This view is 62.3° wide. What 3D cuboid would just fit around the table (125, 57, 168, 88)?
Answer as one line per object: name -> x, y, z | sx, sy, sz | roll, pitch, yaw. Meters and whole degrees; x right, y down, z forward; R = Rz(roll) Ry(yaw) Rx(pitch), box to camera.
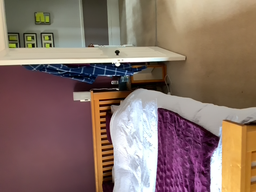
table -> 0.250, -0.330, 2.930 | 0.340, 0.490, 0.380 | -158, 64, -72
